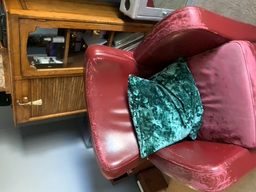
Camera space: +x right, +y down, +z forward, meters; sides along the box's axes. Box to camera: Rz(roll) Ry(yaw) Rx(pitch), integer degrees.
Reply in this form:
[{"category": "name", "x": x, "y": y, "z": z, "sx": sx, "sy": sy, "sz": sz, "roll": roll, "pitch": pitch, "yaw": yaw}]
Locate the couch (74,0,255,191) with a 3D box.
[{"category": "couch", "x": 0.270, "y": 0.010, "z": 1.210, "sx": 0.780, "sy": 0.840, "sz": 0.760, "roll": -16, "pitch": 83, "yaw": 58}]
